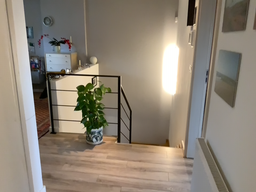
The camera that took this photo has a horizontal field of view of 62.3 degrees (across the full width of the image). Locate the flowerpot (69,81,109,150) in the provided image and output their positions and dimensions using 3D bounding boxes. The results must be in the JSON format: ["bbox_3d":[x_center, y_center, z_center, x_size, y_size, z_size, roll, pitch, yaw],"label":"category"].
[{"bbox_3d":[-0.550,0.280,3.130,0.480,0.920,0.360,2,16,2],"label":"flowerpot"}]
